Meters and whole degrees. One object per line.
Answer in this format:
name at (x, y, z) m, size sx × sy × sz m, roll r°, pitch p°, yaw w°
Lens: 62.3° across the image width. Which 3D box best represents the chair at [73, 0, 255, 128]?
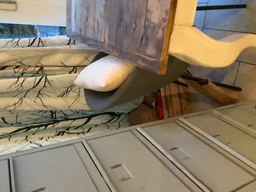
chair at (0.200, -0.250, 1.130) m, size 0.550 × 0.820 × 0.520 m, roll 29°, pitch 120°, yaw 54°
